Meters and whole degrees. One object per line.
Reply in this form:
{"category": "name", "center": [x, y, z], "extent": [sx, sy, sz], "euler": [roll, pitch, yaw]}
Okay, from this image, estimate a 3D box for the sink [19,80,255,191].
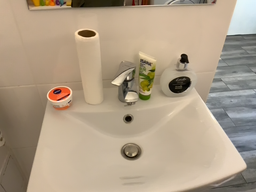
{"category": "sink", "center": [0.010, 0.140, 0.630], "extent": [0.520, 0.150, 0.380], "euler": [-4, 39, -7]}
